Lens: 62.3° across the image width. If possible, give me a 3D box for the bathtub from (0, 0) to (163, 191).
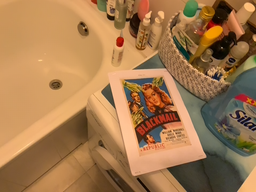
[{"bbox_3d":[-0.640,0.070,0.940,1.430,0.550,0.680,-37,75,-25],"label":"bathtub"}]
